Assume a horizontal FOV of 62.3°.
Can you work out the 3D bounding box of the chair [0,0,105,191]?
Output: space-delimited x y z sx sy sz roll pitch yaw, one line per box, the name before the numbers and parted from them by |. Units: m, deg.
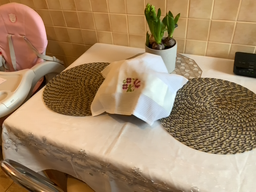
chair | -0.640 0.000 1.300 0.600 0.990 0.690 13 43 21
